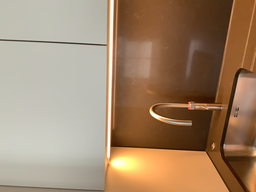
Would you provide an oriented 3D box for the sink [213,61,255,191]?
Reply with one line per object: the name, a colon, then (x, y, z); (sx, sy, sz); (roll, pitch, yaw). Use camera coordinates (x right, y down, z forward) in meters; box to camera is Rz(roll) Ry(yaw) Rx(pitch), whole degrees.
sink: (0.550, 0.130, 0.840); (0.390, 0.200, 0.460); (-90, 3, -71)
